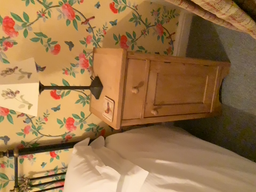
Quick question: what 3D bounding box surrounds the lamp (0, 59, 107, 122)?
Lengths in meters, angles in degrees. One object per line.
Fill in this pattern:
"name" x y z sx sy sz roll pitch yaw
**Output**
"lamp" -0.370 -0.040 1.010 0.270 0.450 0.220 22 109 55
